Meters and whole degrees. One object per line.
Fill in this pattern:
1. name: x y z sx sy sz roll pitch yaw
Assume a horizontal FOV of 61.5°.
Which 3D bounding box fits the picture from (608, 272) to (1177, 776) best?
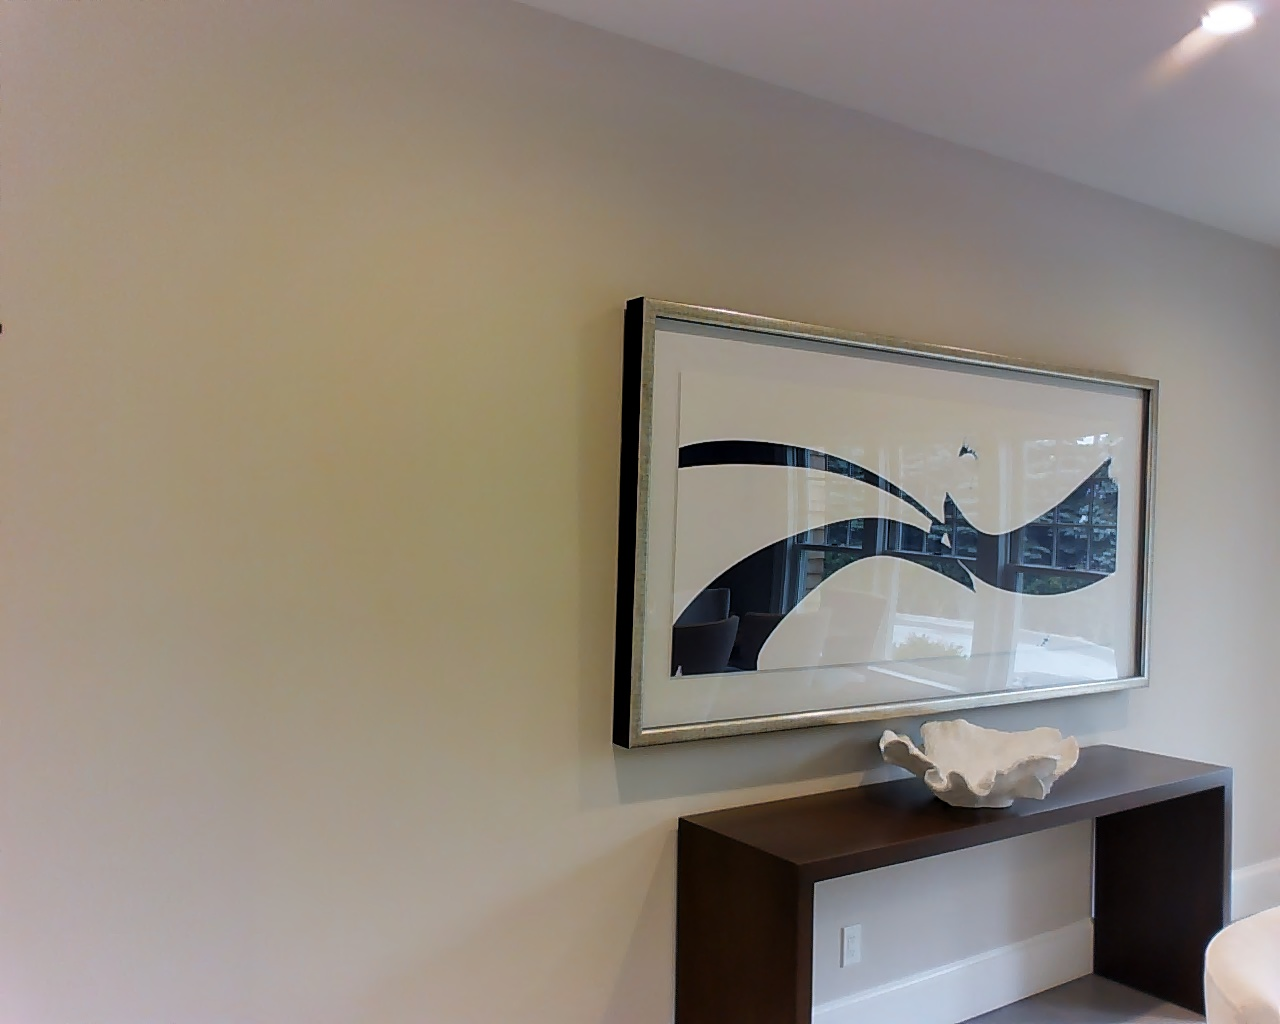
1. picture: 0.910 0.050 3.230 2.260 1.200 0.120 1 -1 -33
